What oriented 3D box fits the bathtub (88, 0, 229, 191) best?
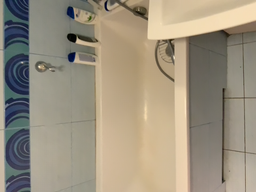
[{"bbox_3d":[0.200,0.150,1.420,0.690,0.610,1.570,-1,90,44],"label":"bathtub"}]
